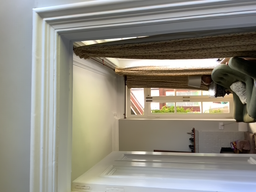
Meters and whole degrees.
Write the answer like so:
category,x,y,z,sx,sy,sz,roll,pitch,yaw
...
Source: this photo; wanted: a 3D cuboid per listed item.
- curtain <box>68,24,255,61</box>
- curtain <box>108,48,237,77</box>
category,x,y,z,sx,sy,sz,roll,pitch,yaw
curtain,0.650,-0.570,2.270,0.260,2.670,0.210,0,-91,-78
curtain,0.770,-0.600,4.020,0.650,2.190,0.270,16,-108,-78
